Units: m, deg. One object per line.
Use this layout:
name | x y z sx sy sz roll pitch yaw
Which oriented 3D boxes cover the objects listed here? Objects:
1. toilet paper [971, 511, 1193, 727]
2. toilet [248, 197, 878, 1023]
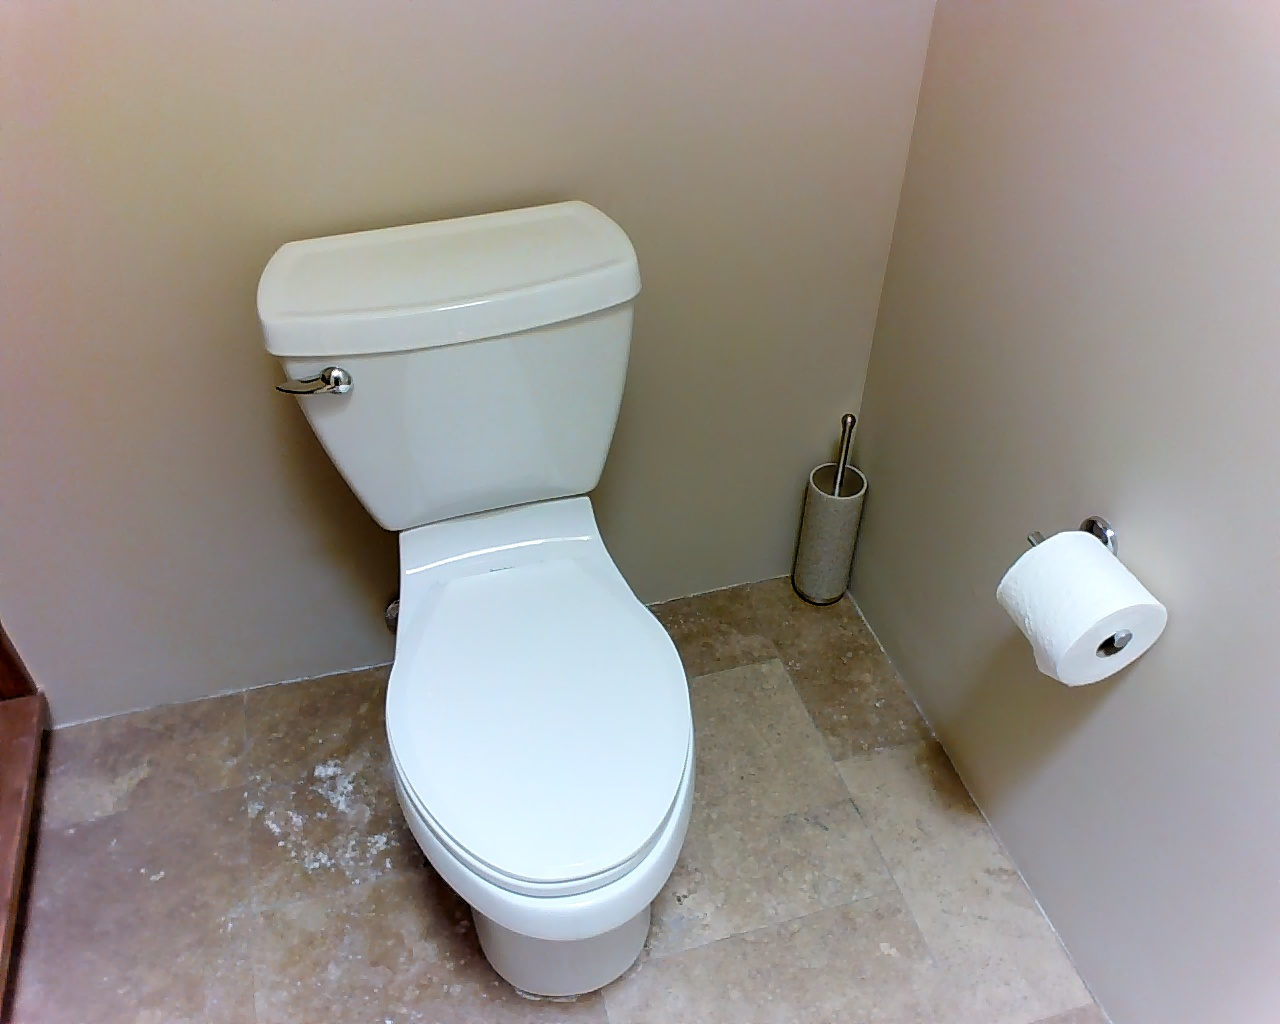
toilet paper | 0.490 0.120 1.210 0.140 0.170 0.140 -11 43 -13
toilet | -0.150 0.180 1.370 0.470 0.820 0.790 -11 43 -13
